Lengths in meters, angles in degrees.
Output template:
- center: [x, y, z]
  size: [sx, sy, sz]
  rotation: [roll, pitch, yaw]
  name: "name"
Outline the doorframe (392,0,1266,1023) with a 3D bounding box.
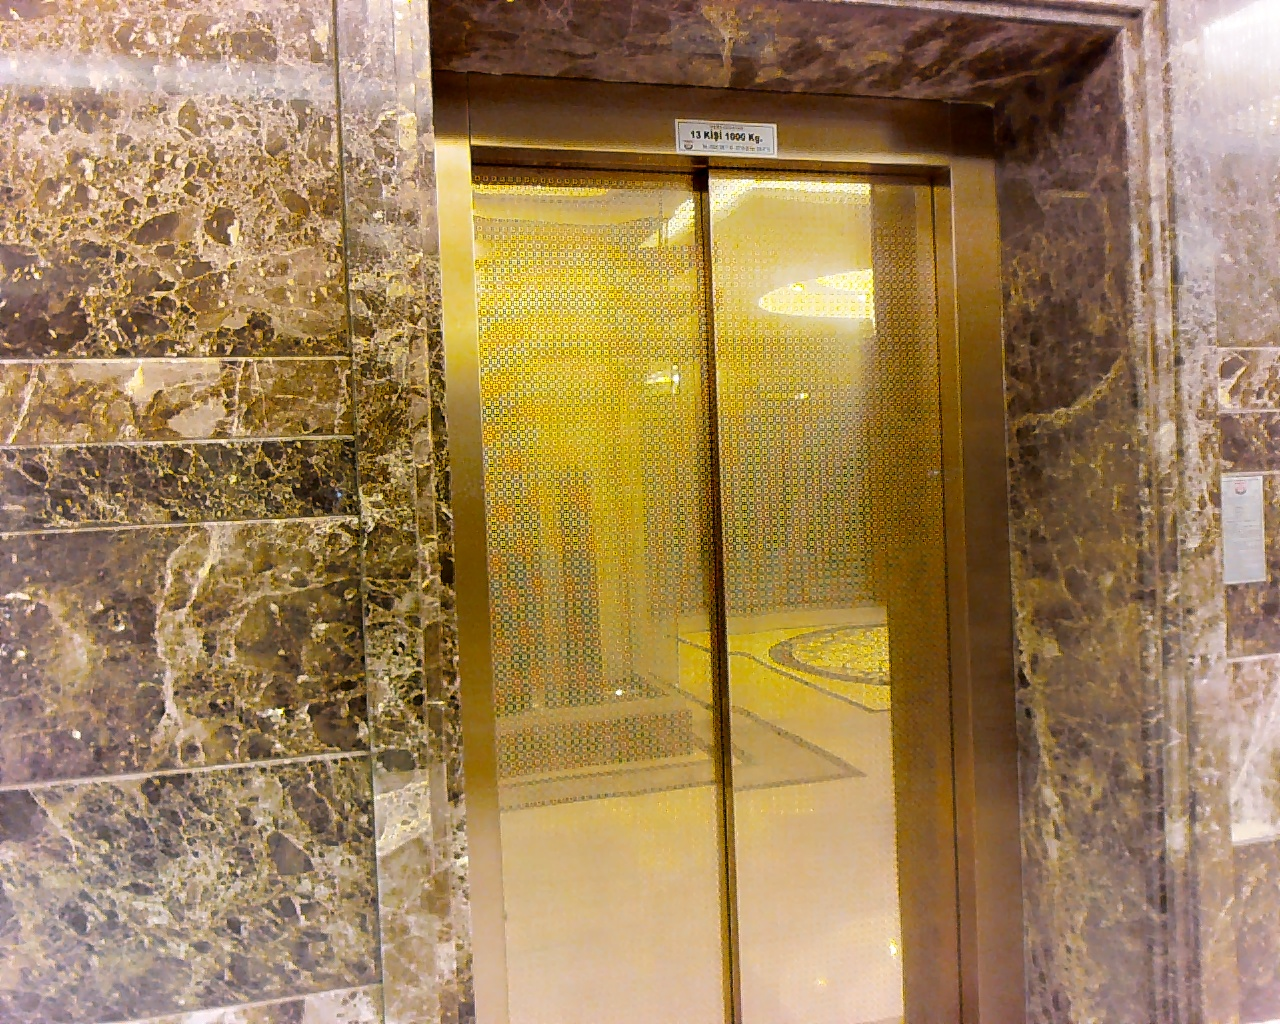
- center: [0.340, 0.320, 1.620]
  size: [1.299, 2.201, 0.150]
  rotation: [-2, 1, -15]
  name: "doorframe"
